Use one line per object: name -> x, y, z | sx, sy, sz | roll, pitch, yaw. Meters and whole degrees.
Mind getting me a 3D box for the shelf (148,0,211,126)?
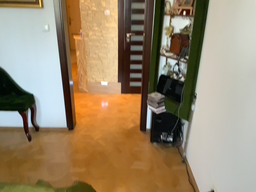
shelf -> 0.460, -0.750, 1.960 | 0.380, 2.030, 0.550 | 1, 23, 0
